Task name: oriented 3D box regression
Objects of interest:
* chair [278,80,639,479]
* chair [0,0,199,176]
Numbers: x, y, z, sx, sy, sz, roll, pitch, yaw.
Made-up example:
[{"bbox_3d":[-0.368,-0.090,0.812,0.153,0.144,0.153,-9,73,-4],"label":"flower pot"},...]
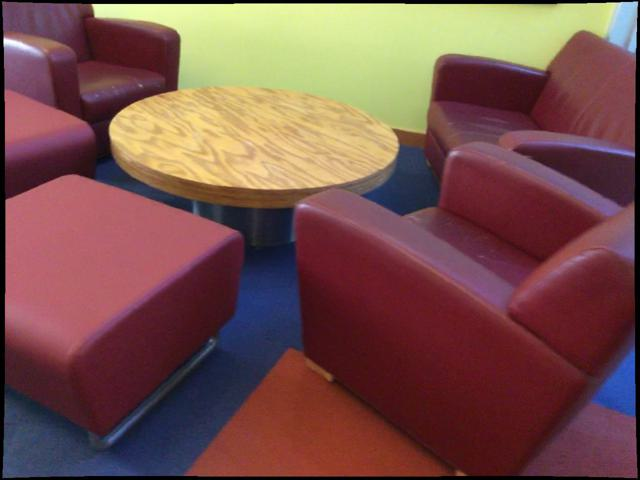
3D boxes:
[{"bbox_3d":[0.509,0.110,1.630,0.860,0.781,0.930,-23,39,-37],"label":"chair"},{"bbox_3d":[-1.279,-0.961,3.000,0.909,0.831,0.830,18,34,24],"label":"chair"}]
